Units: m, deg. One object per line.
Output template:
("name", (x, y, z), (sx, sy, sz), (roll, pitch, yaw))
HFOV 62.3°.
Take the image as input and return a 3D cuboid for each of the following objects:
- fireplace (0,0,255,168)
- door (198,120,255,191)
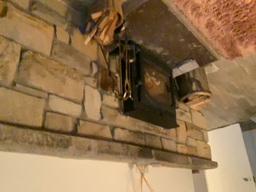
("fireplace", (0.180, -0.020, 1.660), (0.830, 0.980, 2.230), (-20, 151, 37))
("door", (1.930, 1.490, 4.150), (0.100, 1.840, 0.930), (13, 153, -32))
